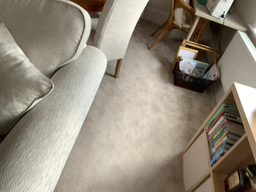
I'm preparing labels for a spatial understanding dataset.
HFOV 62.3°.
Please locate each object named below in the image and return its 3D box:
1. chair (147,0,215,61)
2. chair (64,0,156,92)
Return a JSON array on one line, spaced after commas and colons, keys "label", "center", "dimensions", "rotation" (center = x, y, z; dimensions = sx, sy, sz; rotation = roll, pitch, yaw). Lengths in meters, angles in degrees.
[{"label": "chair", "center": [0.660, -1.010, 2.910], "dimensions": [0.560, 0.750, 0.590], "rotation": [12, 41, -10]}, {"label": "chair", "center": [-0.220, -0.620, 1.960], "dimensions": [0.410, 0.930, 0.590], "rotation": [-21, 55, -39]}]
